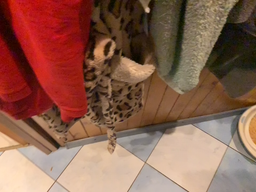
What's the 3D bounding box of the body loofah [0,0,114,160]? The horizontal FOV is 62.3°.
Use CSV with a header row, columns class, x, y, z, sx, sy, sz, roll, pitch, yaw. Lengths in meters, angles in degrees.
class,x,y,z,sx,sy,sz,roll,pitch,yaw
body loofah,-0.190,-0.130,0.190,0.300,1.010,0.150,-8,64,-5
